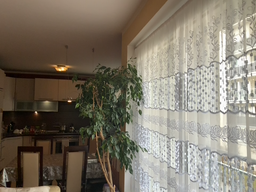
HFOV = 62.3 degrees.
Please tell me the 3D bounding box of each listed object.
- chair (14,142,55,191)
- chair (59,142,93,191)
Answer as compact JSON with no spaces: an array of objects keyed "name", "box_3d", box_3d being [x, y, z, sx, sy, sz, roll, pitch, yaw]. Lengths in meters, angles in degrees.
[{"name":"chair","box_3d":[-1.320,1.190,3.040,0.440,0.970,0.470,2,-3,-14]},{"name":"chair","box_3d":[-0.780,1.210,3.130,0.440,0.970,0.470,2,-3,-18]}]
